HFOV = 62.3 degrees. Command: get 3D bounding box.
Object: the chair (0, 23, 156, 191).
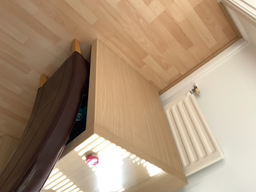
[{"bbox_3d":[-0.280,0.190,1.090,0.440,1.000,0.610,-38,126,23],"label":"chair"}]
